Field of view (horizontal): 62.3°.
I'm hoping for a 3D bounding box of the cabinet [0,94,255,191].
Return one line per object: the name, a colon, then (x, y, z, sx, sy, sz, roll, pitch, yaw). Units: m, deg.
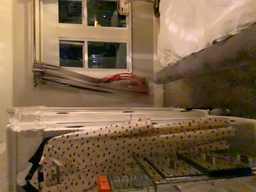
cabinet: (-0.120, 0.450, 2.450, 2.950, 2.220, 0.800, 169, 101, -78)
